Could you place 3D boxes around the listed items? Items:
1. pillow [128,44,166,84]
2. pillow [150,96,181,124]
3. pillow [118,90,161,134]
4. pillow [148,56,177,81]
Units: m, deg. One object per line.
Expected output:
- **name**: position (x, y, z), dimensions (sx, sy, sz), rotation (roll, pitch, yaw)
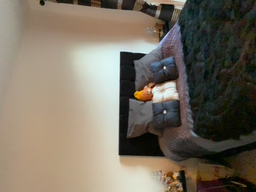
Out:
- **pillow**: position (0.220, -0.370, 2.510), dimensions (0.080, 0.380, 0.430), rotation (31, -110, -33)
- **pillow**: position (0.370, 0.130, 2.100), dimensions (0.060, 0.250, 0.250), rotation (55, -133, -52)
- **pillow**: position (0.130, 0.160, 2.270), dimensions (0.120, 0.360, 0.440), rotation (47, -129, -50)
- **pillow**: position (0.380, -0.300, 2.330), dimensions (0.100, 0.260, 0.240), rotation (48, -131, -53)
